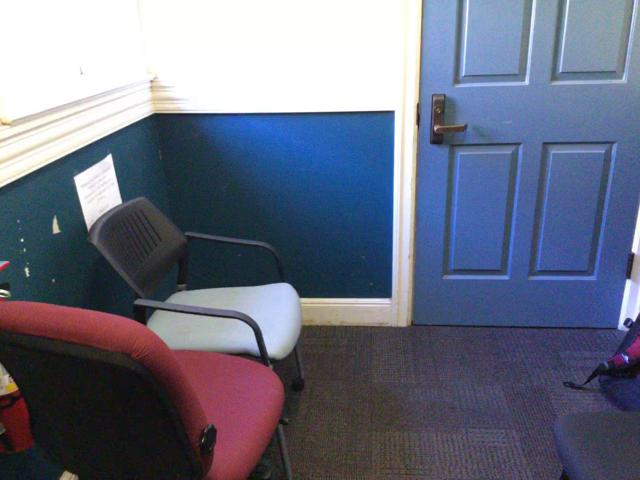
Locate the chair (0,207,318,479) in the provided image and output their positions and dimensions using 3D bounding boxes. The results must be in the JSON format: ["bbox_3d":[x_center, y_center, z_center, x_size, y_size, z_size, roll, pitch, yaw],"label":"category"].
[{"bbox_3d":[-0.380,0.460,1.390,0.550,0.910,0.630,5,21,19],"label":"chair"}]

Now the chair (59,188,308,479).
[{"bbox_3d":[-0.360,0.310,1.890,0.580,0.820,0.590,-1,19,2],"label":"chair"}]
